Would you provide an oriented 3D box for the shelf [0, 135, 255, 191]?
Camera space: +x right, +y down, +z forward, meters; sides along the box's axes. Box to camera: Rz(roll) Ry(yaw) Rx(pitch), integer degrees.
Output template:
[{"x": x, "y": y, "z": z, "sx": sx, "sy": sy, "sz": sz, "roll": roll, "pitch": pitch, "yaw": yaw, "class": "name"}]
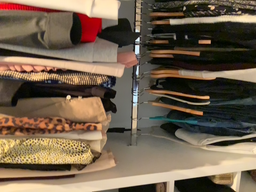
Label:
[{"x": -0.180, "y": 0.360, "z": 0.820, "sx": 0.260, "sy": 2.380, "sz": 0.220, "roll": -147, "pitch": 58, "yaw": -70, "class": "shelf"}]
